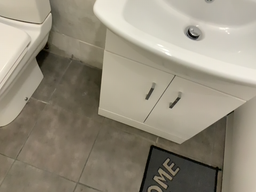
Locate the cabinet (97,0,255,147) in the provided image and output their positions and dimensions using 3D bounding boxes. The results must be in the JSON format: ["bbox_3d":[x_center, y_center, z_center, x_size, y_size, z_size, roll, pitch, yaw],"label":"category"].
[{"bbox_3d":[0.170,-0.090,0.970,0.520,0.750,0.320,18,61,-1],"label":"cabinet"}]
